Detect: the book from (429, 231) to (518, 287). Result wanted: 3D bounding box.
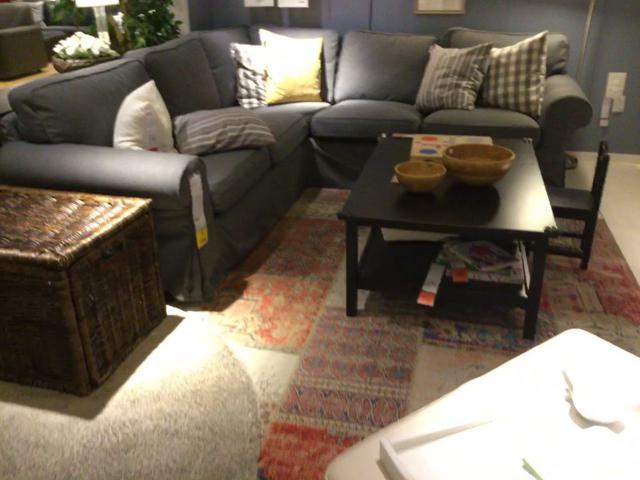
[{"bbox_3d":[0.610,0.070,2.290,0.320,0.090,0.250,6,25,15],"label":"book"}]

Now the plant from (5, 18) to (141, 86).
[{"bbox_3d":[-1.270,-1.000,3.030,0.390,0.280,0.500,6,25,15],"label":"plant"}]

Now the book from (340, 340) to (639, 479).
[{"bbox_3d":[0.380,0.390,1.040,0.590,0.120,0.370,-10,26,-19],"label":"book"}]
